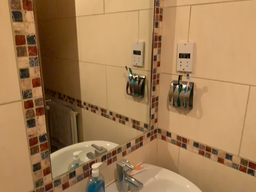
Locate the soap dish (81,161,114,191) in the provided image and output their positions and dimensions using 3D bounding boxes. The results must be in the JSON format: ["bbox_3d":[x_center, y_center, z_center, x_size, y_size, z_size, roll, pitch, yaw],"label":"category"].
[{"bbox_3d":[-0.130,0.380,0.910,0.100,0.140,0.090,13,21,38],"label":"soap dish"}]
